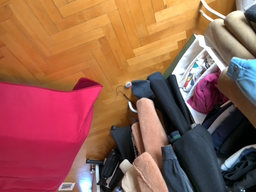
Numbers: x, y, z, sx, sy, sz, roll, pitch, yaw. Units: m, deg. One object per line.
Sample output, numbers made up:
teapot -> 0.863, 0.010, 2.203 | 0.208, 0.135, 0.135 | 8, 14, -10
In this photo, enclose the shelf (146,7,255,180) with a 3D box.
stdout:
shelf -> 0.590, -0.040, 1.310 | 0.660, 0.970, 0.370 | 11, 134, -25
